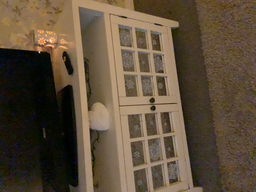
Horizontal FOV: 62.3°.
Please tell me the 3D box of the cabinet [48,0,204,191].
[{"bbox_3d":[-0.040,0.100,1.300,0.480,0.700,1.120,-19,75,55],"label":"cabinet"}]
